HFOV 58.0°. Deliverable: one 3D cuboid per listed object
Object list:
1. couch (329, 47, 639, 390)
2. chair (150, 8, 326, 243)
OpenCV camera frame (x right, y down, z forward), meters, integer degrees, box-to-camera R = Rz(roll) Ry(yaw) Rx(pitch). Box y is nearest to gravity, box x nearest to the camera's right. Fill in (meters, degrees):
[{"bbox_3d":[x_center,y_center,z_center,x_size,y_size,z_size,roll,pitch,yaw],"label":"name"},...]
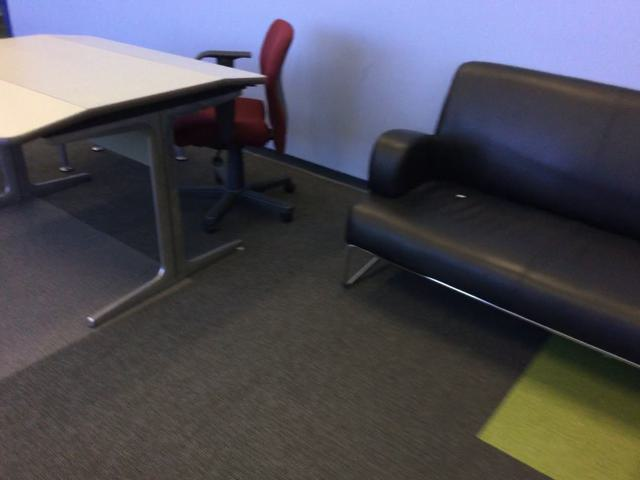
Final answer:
[{"bbox_3d":[1.100,-0.060,1.780,1.990,0.660,0.890,24,33,34],"label":"couch"},{"bbox_3d":[-0.400,-0.550,2.670,0.660,0.880,0.670,-3,28,-13],"label":"chair"}]
